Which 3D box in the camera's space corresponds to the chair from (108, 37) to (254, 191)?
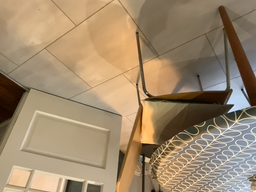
[{"bbox_3d":[0.210,0.140,1.220,0.530,0.870,0.420,8,140,-6],"label":"chair"}]
